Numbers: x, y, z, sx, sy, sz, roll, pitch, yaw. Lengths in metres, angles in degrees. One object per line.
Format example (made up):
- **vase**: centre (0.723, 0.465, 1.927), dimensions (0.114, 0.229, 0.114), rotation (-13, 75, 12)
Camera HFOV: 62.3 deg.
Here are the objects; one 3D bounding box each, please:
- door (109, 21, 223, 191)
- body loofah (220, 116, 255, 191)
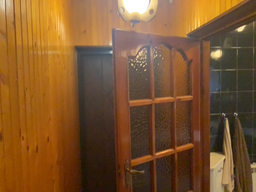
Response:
- **door**: centre (0.340, 0.560, 1.610), dimensions (0.940, 2.070, 0.140), rotation (-3, 4, -28)
- **body loofah**: centre (1.320, 0.780, 2.410), dimensions (0.380, 1.040, 0.370), rotation (-1, 4, 0)
